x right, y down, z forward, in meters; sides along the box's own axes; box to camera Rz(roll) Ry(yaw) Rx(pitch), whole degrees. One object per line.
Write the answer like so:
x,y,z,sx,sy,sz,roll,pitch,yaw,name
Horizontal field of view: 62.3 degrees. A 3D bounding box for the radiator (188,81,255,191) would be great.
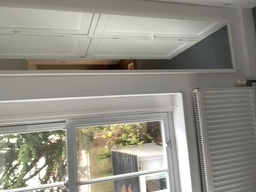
0.770,0.460,1.480,0.050,0.630,1.130,158,108,-71,radiator
